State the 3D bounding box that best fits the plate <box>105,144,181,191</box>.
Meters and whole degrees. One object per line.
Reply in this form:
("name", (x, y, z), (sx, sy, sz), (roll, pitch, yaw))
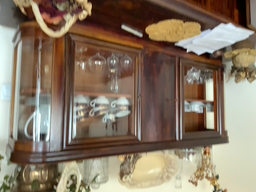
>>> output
("plate", (0.100, 0.440, 1.260), (0.430, 0.240, 0.190), (4, 175, -36))
